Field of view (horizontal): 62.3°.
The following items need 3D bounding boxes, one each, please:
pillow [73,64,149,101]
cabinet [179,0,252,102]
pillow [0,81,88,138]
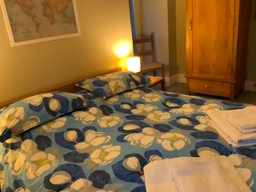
[{"bbox_3d":[-0.160,-0.180,2.330,0.400,0.160,0.760,13,27,40],"label":"pillow"},{"bbox_3d":[1.250,-0.980,3.070,0.750,1.900,0.690,13,27,40],"label":"cabinet"},{"bbox_3d":[-0.720,0.070,1.750,0.370,0.160,0.670,12,26,38],"label":"pillow"}]
